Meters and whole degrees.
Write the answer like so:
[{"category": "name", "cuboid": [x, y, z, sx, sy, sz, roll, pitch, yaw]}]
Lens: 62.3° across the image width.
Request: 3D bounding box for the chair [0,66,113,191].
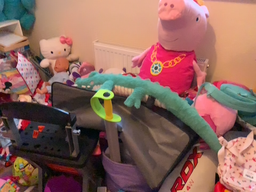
[{"category": "chair", "cuboid": [-0.380, 0.270, 1.220, 0.470, 0.740, 0.400, 6, 34, 9]}]
